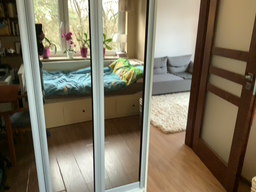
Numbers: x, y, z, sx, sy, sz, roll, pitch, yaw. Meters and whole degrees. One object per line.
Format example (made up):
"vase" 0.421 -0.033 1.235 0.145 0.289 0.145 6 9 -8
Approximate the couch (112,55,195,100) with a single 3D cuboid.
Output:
"couch" 0.570 -0.510 5.070 1.670 0.780 0.970 -6 19 -23

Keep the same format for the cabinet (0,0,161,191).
"cabinet" -0.670 -0.280 1.490 1.650 2.440 0.630 -6 19 -23
